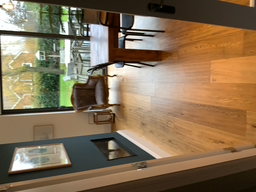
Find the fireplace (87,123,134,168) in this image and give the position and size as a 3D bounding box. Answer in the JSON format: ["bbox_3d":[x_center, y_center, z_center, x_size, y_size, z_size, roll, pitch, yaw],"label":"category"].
[{"bbox_3d":[-0.310,0.720,3.290,0.930,0.440,0.360,-165,74,-66],"label":"fireplace"}]
